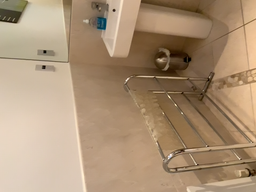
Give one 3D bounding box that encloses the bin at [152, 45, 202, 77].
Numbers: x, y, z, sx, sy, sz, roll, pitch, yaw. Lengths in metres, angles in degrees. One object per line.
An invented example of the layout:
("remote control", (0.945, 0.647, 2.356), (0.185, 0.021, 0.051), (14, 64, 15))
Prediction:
("bin", (0.470, -0.340, 2.080), (0.200, 0.380, 0.220), (-115, 33, -49))
